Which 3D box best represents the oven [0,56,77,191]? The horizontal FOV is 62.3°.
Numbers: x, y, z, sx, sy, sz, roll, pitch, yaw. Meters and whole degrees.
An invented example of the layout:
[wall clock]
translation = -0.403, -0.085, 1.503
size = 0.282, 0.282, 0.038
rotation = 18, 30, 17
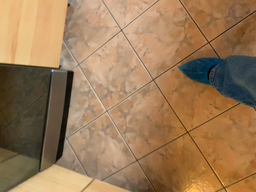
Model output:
[oven]
translation = -0.700, 0.070, 0.940
size = 0.590, 0.700, 0.500
rotation = 11, 97, 15
